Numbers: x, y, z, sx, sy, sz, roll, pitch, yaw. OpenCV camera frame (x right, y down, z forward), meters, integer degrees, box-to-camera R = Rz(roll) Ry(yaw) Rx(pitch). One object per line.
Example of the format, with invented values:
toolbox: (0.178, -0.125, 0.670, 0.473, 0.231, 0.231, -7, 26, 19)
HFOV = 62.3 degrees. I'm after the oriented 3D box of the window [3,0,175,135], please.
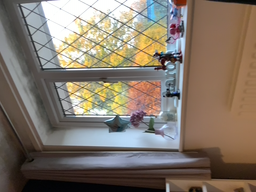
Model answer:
window: (-0.230, -0.380, 1.500, 0.130, 1.080, 1.600, -77, -16, -57)
